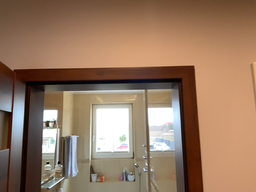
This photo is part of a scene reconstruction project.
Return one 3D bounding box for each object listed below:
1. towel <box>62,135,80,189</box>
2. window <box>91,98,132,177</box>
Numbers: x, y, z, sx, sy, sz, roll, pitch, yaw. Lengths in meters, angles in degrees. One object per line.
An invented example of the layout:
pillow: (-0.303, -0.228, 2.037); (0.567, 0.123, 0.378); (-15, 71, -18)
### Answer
towel: (-0.960, 1.080, 3.590); (0.180, 0.820, 0.470); (-1, -9, -2)
window: (-0.330, 0.800, 4.230); (0.770, 1.510, 0.200); (-1, -9, 0)
